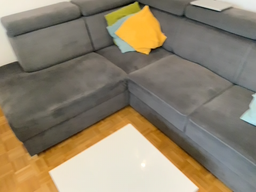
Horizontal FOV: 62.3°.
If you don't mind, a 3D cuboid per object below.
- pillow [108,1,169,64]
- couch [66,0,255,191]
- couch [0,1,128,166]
[{"bbox_3d":[0.100,-0.620,2.100,0.420,0.410,0.150,-50,24,12],"label":"pillow"},{"bbox_3d":[0.580,-0.260,1.840,1.090,0.850,2.500,-27,45,-26],"label":"couch"},{"bbox_3d":[-0.680,-0.210,1.890,0.930,0.840,0.980,-27,45,-26],"label":"couch"}]
